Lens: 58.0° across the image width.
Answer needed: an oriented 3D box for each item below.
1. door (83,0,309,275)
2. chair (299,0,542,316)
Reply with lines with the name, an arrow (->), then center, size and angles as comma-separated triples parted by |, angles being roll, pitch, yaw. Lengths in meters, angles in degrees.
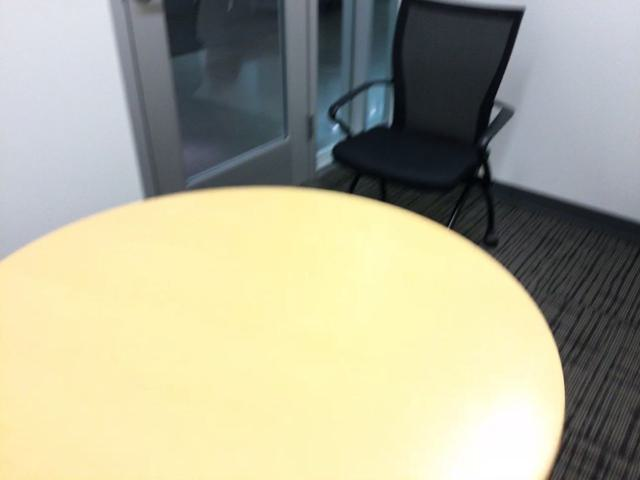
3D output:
door -> -0.390, -0.780, 2.090 | 0.140, 1.620, 0.910 | 20, 36, 31
chair -> 0.330, -0.340, 2.080 | 0.570, 0.930, 0.560 | 21, 37, 30
